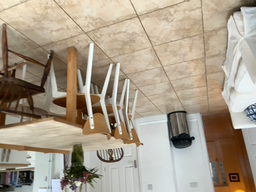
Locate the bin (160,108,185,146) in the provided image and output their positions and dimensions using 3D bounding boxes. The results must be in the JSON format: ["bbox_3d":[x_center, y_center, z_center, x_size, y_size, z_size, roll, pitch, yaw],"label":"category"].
[{"bbox_3d":[0.910,0.640,4.310,0.350,0.660,0.430,-10,160,19],"label":"bin"}]
